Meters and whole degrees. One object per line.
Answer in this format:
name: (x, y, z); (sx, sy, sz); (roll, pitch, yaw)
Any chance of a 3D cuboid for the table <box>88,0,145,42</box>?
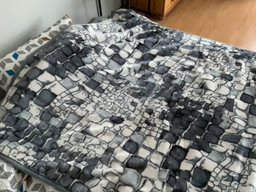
table: (-0.100, -0.960, 2.070); (0.370, 0.630, 0.450); (24, 55, 19)
